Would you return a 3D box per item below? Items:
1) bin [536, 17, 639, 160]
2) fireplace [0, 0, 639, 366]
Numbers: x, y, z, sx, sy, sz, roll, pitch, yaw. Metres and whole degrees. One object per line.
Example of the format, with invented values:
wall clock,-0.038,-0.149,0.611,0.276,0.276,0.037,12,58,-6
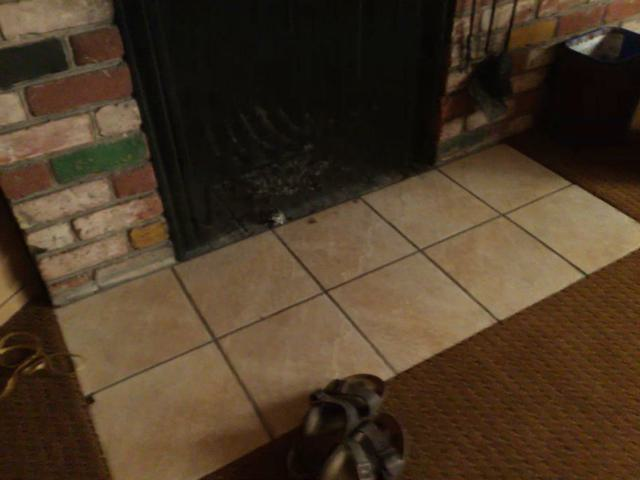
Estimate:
bin,0.930,-0.490,1.850,0.350,0.300,0.230,-23,41,-18
fireplace,0.280,-0.770,1.490,2.390,1.320,0.460,-23,41,-18
